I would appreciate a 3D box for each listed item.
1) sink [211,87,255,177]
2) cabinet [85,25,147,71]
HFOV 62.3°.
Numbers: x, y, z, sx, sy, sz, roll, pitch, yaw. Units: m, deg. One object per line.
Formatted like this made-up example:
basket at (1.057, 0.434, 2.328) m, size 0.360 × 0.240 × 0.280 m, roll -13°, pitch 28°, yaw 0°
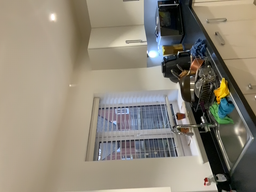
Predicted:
sink at (0.830, 0.270, 1.560) m, size 0.440 × 0.200 × 0.500 m, roll -92°, pitch -2°, yaw -45°
cabinet at (-0.140, -0.640, 2.800) m, size 0.500 × 0.730 × 0.340 m, roll -92°, pitch -2°, yaw -45°
